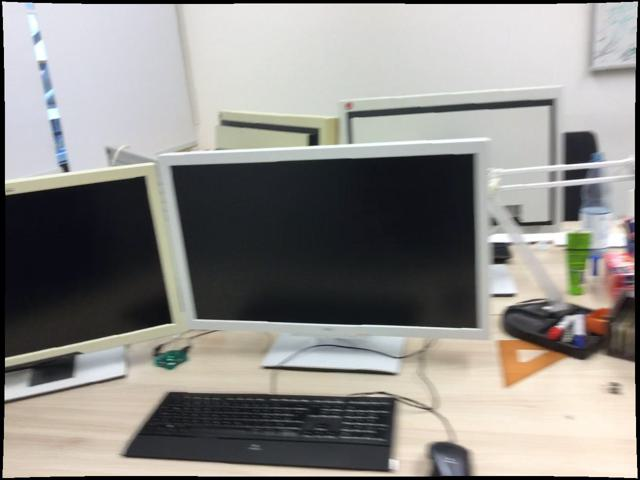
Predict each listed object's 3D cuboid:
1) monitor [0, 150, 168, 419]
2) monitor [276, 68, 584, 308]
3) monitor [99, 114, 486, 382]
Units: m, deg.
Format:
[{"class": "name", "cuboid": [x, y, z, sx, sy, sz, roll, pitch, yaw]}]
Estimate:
[{"class": "monitor", "cuboid": [-0.659, 0.100, 1.240, 0.560, 0.470, 0.250, -11, 19, -14]}, {"class": "monitor", "cuboid": [0.280, -0.130, 1.470, 0.659, 0.510, 0.300, -1, 19, 16]}, {"class": "monitor", "cuboid": [-0.040, 0.030, 1.190, 0.709, 0.470, 0.180, -3, 19, 17]}]
